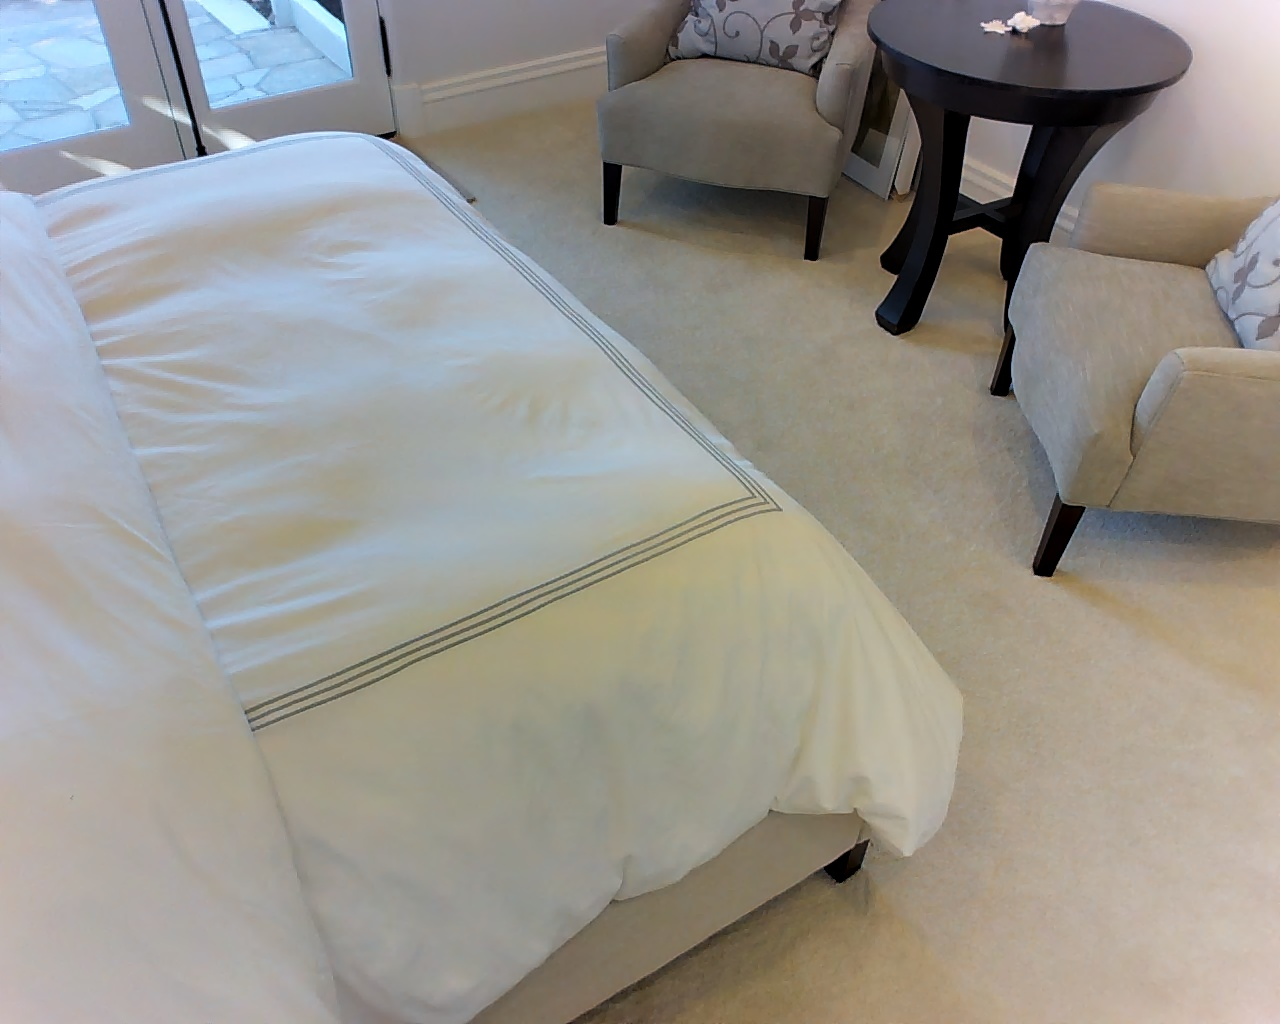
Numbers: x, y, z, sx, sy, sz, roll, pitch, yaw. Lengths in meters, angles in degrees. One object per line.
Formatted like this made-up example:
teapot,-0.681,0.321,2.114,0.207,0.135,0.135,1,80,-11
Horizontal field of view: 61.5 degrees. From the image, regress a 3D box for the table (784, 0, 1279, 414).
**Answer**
table,0.990,-0.920,2.870,0.810,0.810,0.810,-23,46,-24
